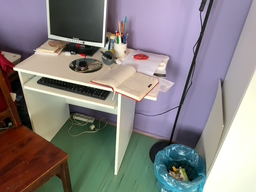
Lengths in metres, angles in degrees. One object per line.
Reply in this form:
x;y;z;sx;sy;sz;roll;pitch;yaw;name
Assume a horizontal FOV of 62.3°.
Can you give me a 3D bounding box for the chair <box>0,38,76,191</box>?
-0.630;0.270;1.050;0.530;0.930;0.440;27;41;27;chair
